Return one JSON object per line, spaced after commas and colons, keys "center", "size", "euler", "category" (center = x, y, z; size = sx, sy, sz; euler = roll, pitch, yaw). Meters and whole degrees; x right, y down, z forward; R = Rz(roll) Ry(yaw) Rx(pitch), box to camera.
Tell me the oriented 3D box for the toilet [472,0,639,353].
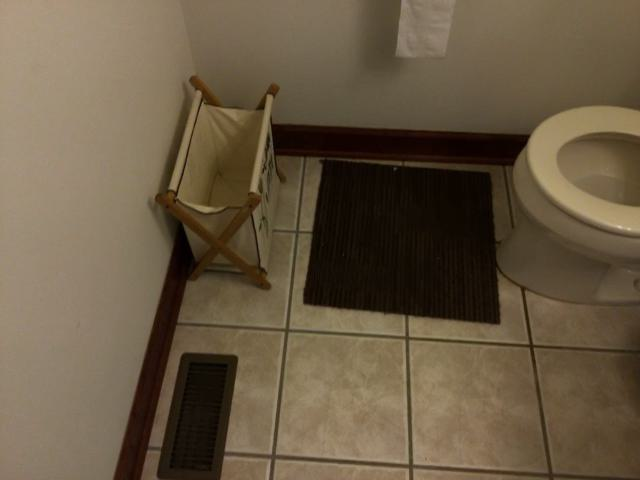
{"center": [0.760, -0.150, 1.210], "size": [0.680, 0.770, 0.490], "euler": [3, 56, 3], "category": "toilet"}
